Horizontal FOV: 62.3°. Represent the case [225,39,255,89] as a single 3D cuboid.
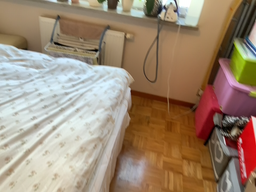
[{"bbox_3d":[1.030,-0.270,1.770,0.290,0.220,0.460,14,34,7],"label":"case"}]
